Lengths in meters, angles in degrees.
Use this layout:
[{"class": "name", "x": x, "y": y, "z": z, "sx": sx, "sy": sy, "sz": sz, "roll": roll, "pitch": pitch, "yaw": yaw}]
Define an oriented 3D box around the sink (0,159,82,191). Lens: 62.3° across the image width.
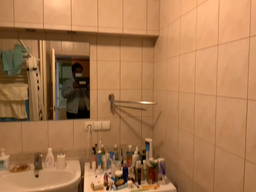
[{"class": "sink", "x": -0.700, "y": 0.650, "z": 1.570, "sx": 0.700, "sy": 0.150, "sz": 0.460, "roll": 0, "pitch": 4, "yaw": -12}]
